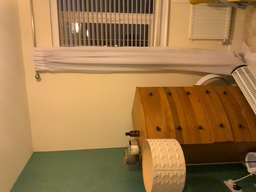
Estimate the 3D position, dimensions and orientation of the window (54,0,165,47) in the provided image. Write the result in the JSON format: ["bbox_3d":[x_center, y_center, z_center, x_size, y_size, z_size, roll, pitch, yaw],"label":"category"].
[{"bbox_3d":[-0.180,-0.840,2.320,0.040,1.170,0.580,-113,23,-71],"label":"window"}]

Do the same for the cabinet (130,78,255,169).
[{"bbox_3d":[0.680,0.260,2.060,0.570,1.220,0.630,98,168,-51],"label":"cabinet"}]
